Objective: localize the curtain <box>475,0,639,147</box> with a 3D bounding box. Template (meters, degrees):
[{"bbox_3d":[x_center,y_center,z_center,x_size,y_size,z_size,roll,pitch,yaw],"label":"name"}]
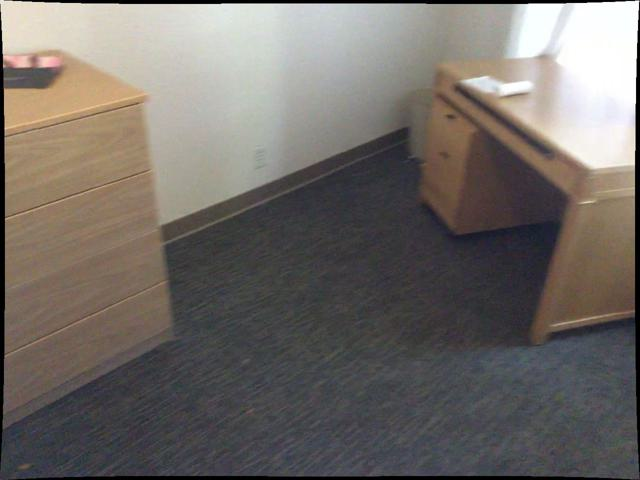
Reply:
[{"bbox_3d":[1.188,-1.042,2.380,0.160,1.001,1.360,-8,34,-19],"label":"curtain"}]

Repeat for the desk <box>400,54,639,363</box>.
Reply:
[{"bbox_3d":[0.938,-0.230,2.520,0.669,0.831,1.190,-5,33,-15],"label":"desk"}]
